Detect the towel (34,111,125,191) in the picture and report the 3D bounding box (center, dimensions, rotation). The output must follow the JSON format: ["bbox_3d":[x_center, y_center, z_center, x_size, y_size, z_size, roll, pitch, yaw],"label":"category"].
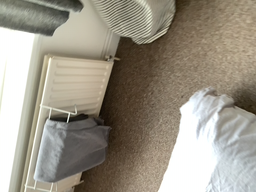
[{"bbox_3d":[-0.330,0.370,1.550,0.190,0.570,0.420,29,109,31],"label":"towel"}]
